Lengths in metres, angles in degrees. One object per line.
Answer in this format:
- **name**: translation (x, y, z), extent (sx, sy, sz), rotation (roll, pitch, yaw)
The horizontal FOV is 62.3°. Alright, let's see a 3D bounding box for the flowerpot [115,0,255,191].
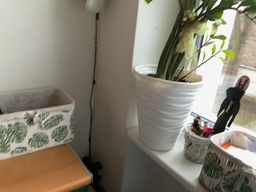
- **flowerpot**: translation (0.230, -0.190, 0.820), extent (0.320, 0.950, 0.390), rotation (-7, 24, -34)
